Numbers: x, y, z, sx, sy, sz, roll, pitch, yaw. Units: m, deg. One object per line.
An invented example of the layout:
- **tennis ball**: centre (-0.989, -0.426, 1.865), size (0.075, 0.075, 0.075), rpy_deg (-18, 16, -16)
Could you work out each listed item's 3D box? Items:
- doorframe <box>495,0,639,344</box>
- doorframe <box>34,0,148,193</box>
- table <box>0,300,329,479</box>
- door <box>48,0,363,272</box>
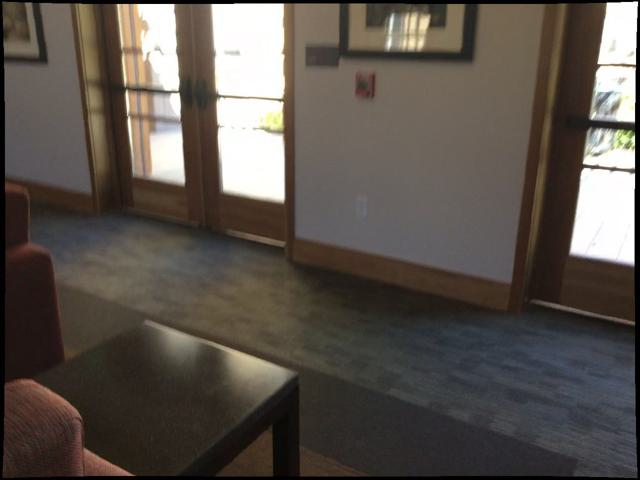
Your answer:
- **doorframe**: centre (1.778, -0.390, 2.260), size (1.919, 1.852, 0.330), rpy_deg (13, 24, 32)
- **doorframe**: centre (-1.648, -1.241, 4.170), size (0.350, 1.692, 0.510), rpy_deg (13, 24, 32)
- **table**: centre (-0.509, 0.621, 1.560), size (0.710, 0.470, 0.860), rpy_deg (13, 24, 32)
- **door**: centre (-0.809, -1.071, 3.890), size (2.099, 2.032, 0.720), rpy_deg (13, 24, 32)
